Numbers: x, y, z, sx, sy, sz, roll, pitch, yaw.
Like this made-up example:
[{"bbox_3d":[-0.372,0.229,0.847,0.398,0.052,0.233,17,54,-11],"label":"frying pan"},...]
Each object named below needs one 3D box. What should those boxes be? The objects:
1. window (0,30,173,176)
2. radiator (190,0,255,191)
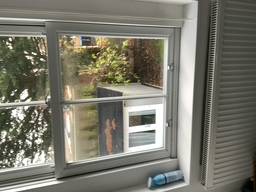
[{"bbox_3d":[-0.310,0.020,1.210,0.070,1.260,0.730,-160,67,-68],"label":"window"},{"bbox_3d":[0.720,0.010,1.310,0.060,0.730,1.110,-160,67,-68],"label":"radiator"}]
